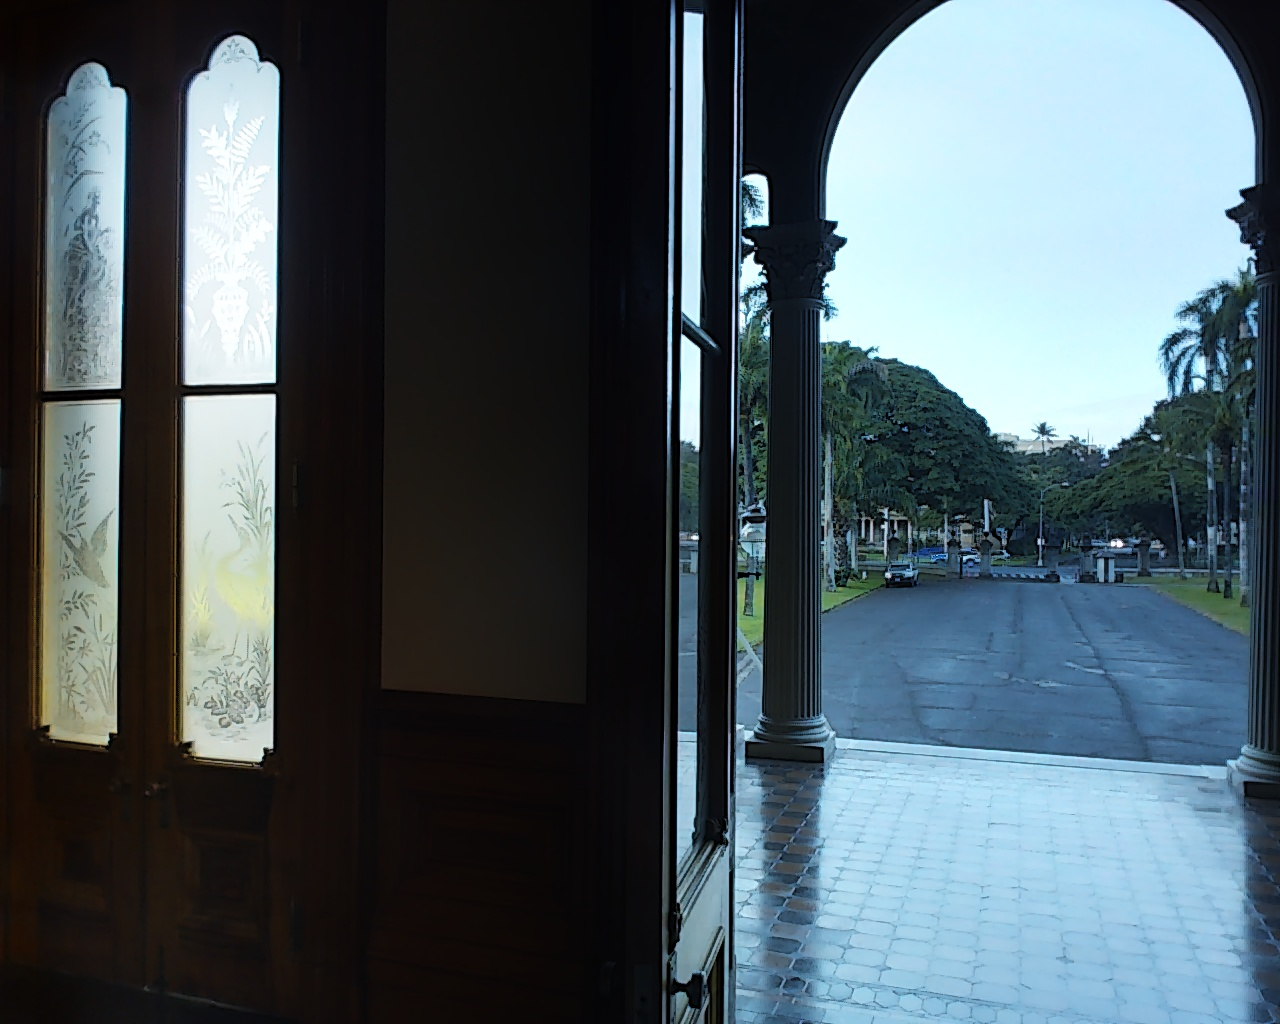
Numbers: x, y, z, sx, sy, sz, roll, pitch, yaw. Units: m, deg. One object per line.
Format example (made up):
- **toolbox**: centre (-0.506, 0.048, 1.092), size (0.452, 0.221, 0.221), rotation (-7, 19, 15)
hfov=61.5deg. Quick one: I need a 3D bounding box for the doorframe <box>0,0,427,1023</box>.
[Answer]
- **doorframe**: centre (-1.580, -0.690, 3.550), size (1.890, 4.401, 0.180), rotation (1, 0, 20)
